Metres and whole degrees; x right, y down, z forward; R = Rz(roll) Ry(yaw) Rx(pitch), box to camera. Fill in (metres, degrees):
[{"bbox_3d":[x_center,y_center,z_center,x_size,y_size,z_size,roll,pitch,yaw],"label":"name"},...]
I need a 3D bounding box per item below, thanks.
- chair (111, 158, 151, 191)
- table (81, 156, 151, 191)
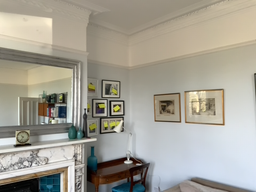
[{"bbox_3d":[0.050,1.510,3.570,0.480,0.770,0.450,3,-4,-43],"label":"chair"},{"bbox_3d":[-0.170,1.520,3.560,1.080,0.750,0.520,3,-4,-43],"label":"table"}]
